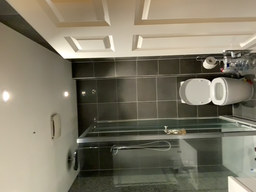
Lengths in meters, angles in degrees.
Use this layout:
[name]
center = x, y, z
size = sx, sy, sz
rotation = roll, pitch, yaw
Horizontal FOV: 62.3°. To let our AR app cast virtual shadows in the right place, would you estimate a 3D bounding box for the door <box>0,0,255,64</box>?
[door]
center = 0.580, -0.300, 0.960
size = 0.750, 1.930, 0.050
rotation = 104, 163, -84
